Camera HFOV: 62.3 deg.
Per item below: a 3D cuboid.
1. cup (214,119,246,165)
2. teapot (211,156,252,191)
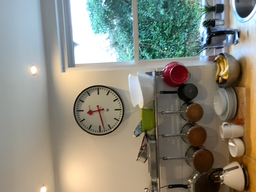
[{"bbox_3d":[0.770,0.340,1.610,0.180,0.160,0.290,-73,-20,-83],"label":"cup"},{"bbox_3d":[0.800,0.640,1.660,0.250,0.200,0.250,-29,-64,-87],"label":"teapot"}]
